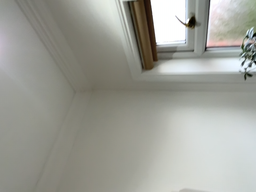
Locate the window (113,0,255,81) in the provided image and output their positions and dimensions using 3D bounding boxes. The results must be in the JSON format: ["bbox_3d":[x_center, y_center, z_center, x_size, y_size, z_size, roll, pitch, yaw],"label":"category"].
[{"bbox_3d":[0.540,-0.330,1.110,0.490,1.130,0.210,74,-156,-46],"label":"window"}]
